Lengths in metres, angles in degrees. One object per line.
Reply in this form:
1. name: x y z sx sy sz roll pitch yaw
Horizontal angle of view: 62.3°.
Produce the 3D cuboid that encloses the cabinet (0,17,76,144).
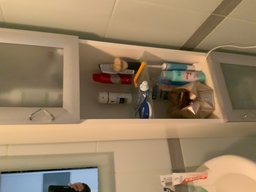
1. cabinet: -0.430 -0.030 0.710 0.310 0.470 0.320 129 140 -61
